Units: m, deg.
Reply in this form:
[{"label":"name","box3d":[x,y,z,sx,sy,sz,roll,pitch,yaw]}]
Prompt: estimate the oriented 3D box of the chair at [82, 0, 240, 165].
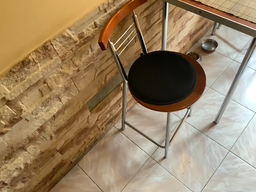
[{"label":"chair","box3d":[0.160,-0.040,1.170,0.470,0.840,0.380,36,68,26]}]
